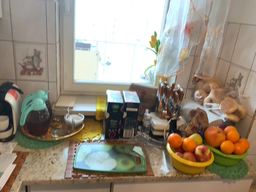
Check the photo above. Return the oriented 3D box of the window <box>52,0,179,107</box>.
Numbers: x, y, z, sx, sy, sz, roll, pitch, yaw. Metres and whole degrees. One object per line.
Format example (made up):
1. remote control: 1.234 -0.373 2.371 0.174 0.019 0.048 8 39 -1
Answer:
1. window: -0.070 -0.670 1.420 0.810 1.530 0.170 2 21 -11
